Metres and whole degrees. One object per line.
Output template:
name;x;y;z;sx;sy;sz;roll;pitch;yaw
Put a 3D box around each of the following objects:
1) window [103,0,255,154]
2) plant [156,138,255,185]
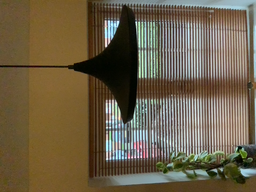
window;0.360;-0.140;1.480;0.100;1.050;1.000;156;113;-81
plant;0.530;0.390;1.320;0.180;0.680;0.210;153;117;-81
